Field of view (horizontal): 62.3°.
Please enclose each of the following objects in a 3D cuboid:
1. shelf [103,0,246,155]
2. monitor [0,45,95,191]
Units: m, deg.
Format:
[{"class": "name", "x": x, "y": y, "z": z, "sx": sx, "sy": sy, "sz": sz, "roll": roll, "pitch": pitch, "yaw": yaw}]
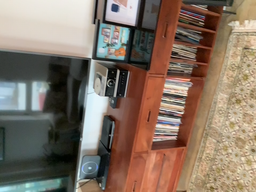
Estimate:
[{"class": "shelf", "x": 0.290, "y": -0.210, "z": 1.650, "sx": 0.530, "sy": 0.680, "sz": 1.110, "roll": 35, "pitch": 119, "yaw": 56}, {"class": "monitor", "x": -0.670, "y": 0.310, "z": 1.490, "sx": 0.070, "sy": 0.740, "sz": 1.250, "roll": 32, "pitch": 116, "yaw": 57}]
